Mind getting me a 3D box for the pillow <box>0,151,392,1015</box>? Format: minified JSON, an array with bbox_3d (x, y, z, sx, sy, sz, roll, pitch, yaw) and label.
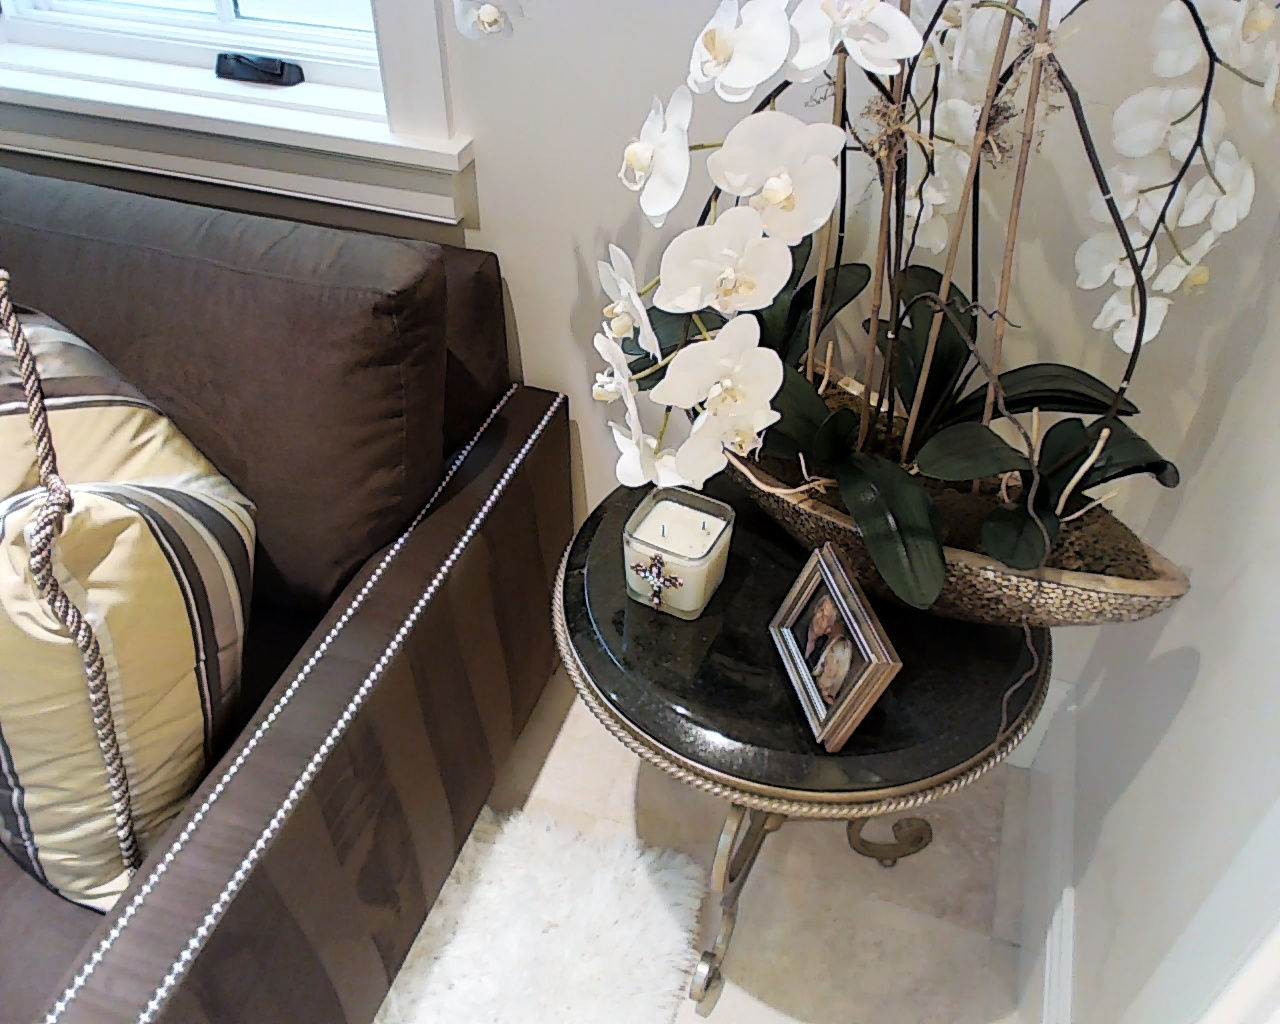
[{"bbox_3d":[-0.580,0.070,1.140,0.440,0.650,0.590,-10,50,-26],"label":"pillow"}]
